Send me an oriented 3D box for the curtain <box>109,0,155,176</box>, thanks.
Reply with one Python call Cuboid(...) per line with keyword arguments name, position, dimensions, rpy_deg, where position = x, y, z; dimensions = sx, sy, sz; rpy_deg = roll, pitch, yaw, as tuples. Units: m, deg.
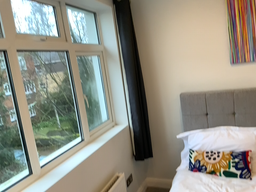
Cuboid(name="curtain", position=(0.060, -0.140, 2.420), dimensions=(0.160, 2.110, 0.300), rpy_deg=(-4, 10, 25))
